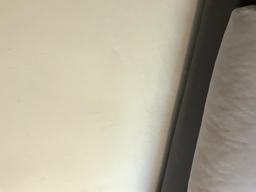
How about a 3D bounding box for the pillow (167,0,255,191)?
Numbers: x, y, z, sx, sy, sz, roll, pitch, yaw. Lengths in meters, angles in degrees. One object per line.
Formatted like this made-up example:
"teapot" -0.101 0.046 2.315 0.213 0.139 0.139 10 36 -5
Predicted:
"pillow" 0.470 0.070 0.820 0.240 0.480 0.810 24 108 50
